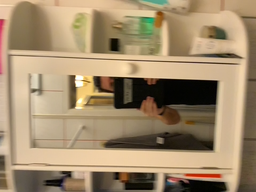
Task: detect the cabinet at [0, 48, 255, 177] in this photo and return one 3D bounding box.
[{"bbox_3d":[0.000,0.040,0.580,0.160,0.610,0.300,-117,29,-84],"label":"cabinet"}]
